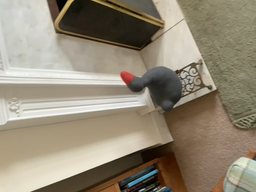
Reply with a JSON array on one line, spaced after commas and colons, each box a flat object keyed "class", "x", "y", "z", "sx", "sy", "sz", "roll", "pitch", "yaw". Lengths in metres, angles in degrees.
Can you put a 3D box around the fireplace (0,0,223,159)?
[{"class": "fireplace", "x": -0.310, "y": -0.530, "z": 0.990, "sx": 0.590, "sy": 1.210, "sz": 1.390, "roll": -30, "pitch": 73, "yaw": 36}]
